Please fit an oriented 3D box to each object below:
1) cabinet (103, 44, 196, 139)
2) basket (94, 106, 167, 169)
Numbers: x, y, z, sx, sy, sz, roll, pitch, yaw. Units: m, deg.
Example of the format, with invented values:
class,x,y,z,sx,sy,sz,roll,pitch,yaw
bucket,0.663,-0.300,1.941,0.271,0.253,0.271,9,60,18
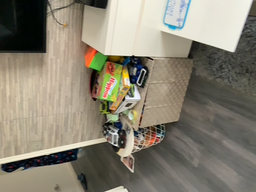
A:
class,x,y,z,sx,sy,sz,roll,pitch,yaw
cabinet,0.150,-0.070,1.830,0.500,0.480,0.620,38,125,48
basket,0.010,0.370,2.060,0.410,0.510,0.360,38,125,48
